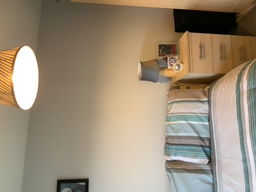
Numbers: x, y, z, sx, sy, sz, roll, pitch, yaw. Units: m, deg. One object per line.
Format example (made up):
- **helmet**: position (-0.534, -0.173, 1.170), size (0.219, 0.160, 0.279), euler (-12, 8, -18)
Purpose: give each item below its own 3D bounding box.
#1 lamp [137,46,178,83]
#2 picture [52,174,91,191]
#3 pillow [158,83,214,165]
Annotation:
- **lamp**: position (0.310, -0.340, 2.340), size (0.270, 0.390, 0.310), euler (119, 152, -77)
- **picture**: position (-0.560, 0.960, 2.110), size (0.040, 0.370, 0.330), euler (114, 157, -74)
- **pillow**: position (0.580, 0.300, 2.140), size (0.280, 0.490, 0.730), euler (-18, 65, 52)
